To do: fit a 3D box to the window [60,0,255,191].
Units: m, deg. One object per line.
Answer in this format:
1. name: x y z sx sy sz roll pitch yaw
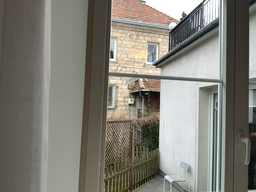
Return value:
1. window: 0.510 0.230 1.020 1.560 2.200 0.250 3 -3 -12
